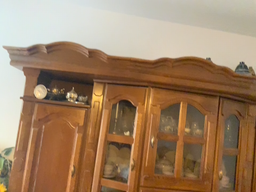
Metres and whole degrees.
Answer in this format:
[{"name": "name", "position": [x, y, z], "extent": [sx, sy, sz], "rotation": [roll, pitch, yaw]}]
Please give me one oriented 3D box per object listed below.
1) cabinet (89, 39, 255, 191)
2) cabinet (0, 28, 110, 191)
[{"name": "cabinet", "position": [0.370, 0.410, 1.620], "extent": [1.220, 1.330, 0.630], "rotation": [7, -5, -6]}, {"name": "cabinet", "position": [-0.570, 0.300, 1.550], "extent": [0.690, 1.310, 0.590], "rotation": [7, -5, -6]}]
